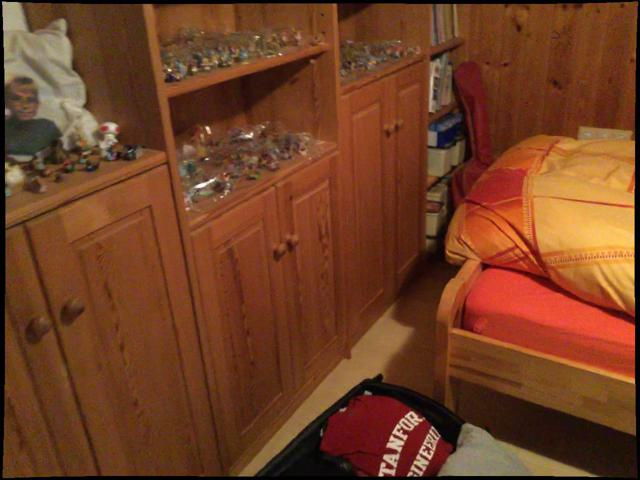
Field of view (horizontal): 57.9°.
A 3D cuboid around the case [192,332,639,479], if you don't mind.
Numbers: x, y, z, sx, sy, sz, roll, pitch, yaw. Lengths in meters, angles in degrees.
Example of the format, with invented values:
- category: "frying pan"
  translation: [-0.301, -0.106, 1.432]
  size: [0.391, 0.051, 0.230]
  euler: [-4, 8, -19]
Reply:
- category: "case"
  translation: [0.280, 0.711, 1.530]
  size: [0.820, 0.220, 0.920]
  euler: [-27, 36, -36]
